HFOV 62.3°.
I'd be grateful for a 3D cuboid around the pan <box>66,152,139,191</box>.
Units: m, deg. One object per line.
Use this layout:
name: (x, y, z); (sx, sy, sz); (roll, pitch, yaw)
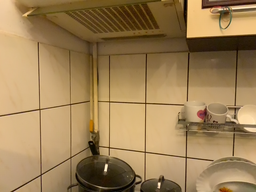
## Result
pan: (-0.110, 0.410, 1.000); (0.270, 0.200, 0.230); (2, 4, 17)
